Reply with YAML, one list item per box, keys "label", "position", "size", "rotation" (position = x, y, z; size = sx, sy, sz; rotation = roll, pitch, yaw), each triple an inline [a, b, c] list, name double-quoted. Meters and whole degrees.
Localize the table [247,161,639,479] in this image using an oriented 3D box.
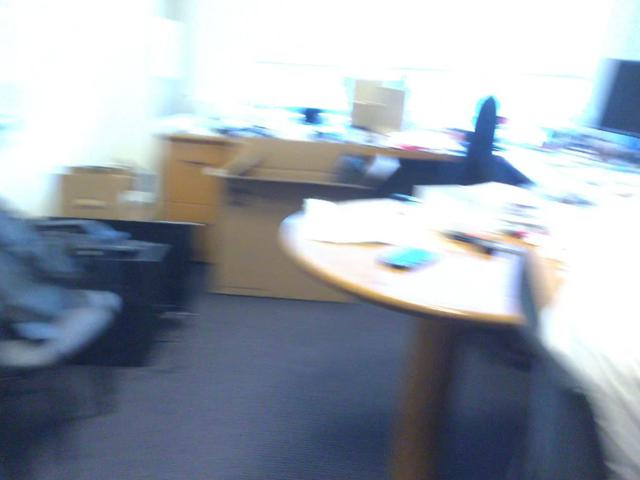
- label: "table"
  position: [0.350, 0.290, 1.610]
  size: [0.920, 0.820, 0.930]
  rotation: [4, 17, 4]
